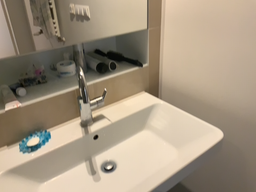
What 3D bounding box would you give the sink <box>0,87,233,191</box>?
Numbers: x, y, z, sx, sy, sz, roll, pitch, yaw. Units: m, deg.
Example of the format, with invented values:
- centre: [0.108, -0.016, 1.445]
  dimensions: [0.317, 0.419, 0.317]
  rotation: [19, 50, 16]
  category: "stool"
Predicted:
- centre: [-0.060, 0.250, 0.820]
  dimensions: [0.780, 0.200, 0.490]
  rotation: [-21, 34, -31]
  category: "sink"
